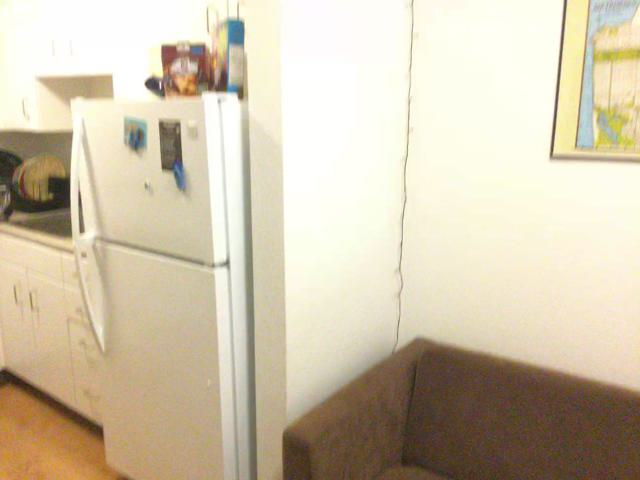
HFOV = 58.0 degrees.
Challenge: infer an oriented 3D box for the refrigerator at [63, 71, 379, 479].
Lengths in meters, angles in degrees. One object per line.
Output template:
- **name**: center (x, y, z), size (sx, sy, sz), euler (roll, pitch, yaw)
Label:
- **refrigerator**: center (-0.330, 0.210, 2.180), size (0.770, 1.550, 0.770), euler (10, 15, 37)
